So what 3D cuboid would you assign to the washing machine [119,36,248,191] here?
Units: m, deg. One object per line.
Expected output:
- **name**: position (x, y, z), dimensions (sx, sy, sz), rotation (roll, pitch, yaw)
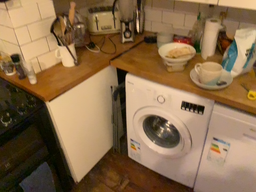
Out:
- **washing machine**: position (0.420, 0.120, 1.720), dimensions (0.620, 0.900, 0.710), rotation (23, 43, 30)
